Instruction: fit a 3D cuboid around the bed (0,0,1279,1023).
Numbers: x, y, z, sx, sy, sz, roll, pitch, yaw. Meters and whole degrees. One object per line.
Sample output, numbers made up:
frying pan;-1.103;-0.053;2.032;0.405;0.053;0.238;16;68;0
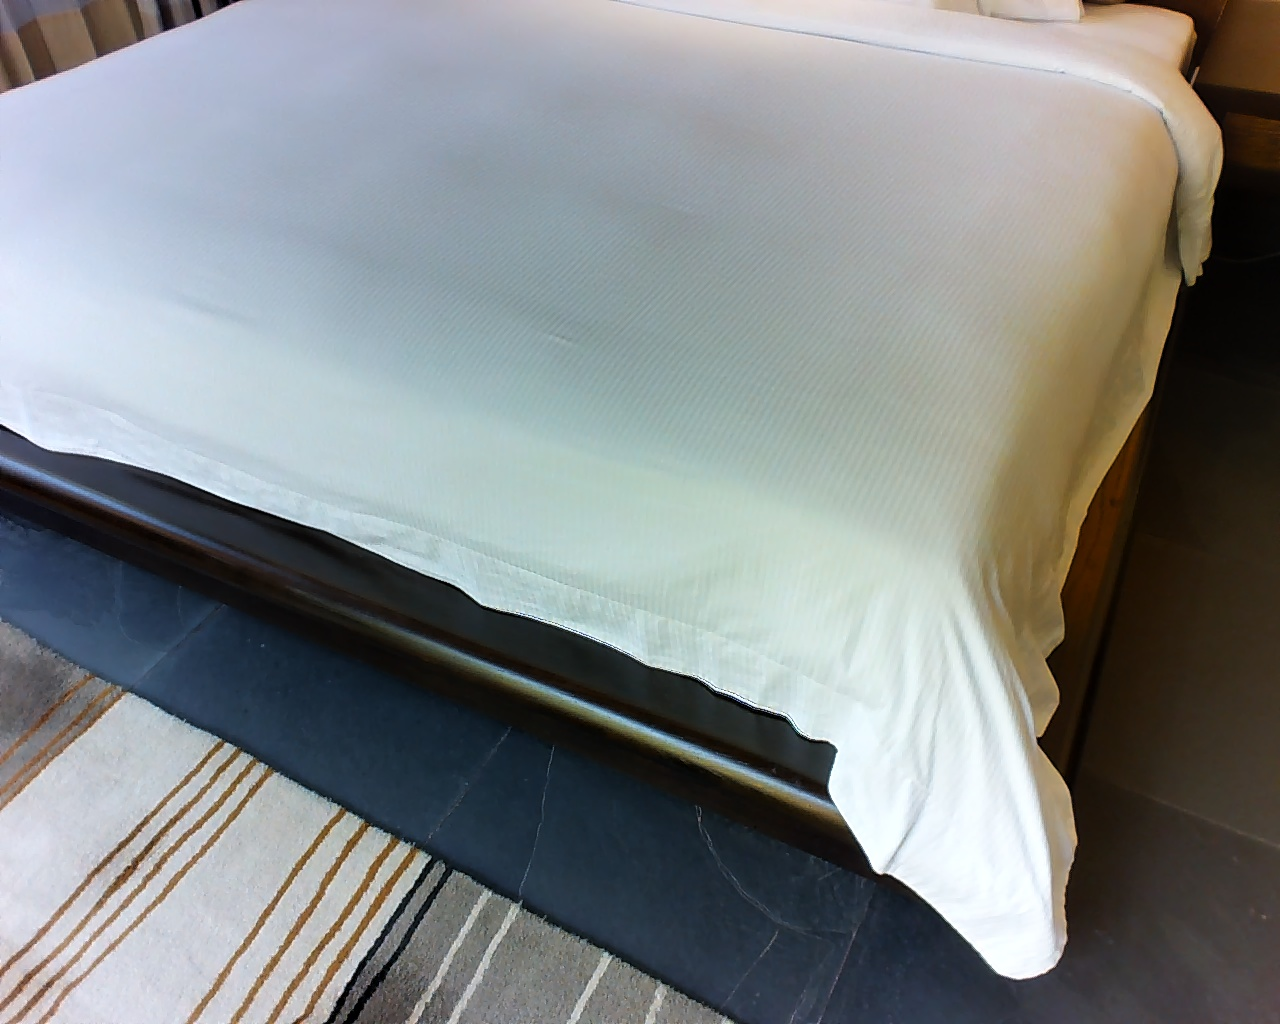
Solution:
bed;-0.070;-0.740;2.180;2.540;0.900;2.390;20;47;21
